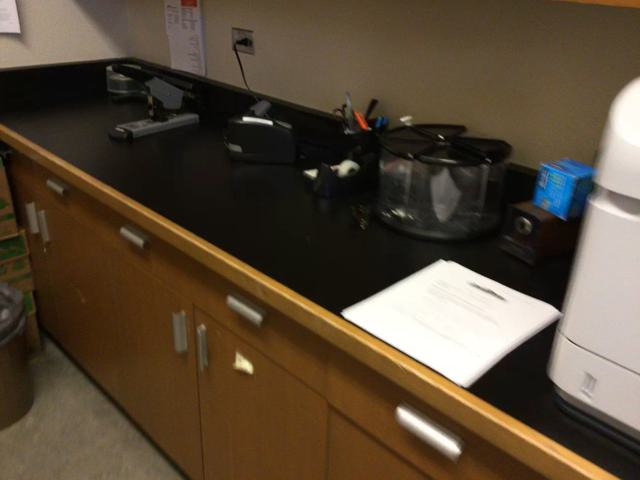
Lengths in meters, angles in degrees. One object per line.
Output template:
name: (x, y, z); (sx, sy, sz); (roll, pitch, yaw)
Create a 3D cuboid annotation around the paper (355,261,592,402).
paper: (0.240, 0.120, 0.890); (0.300, 0.020, 0.230); (-18, 32, -41)

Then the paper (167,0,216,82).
paper: (-0.450, -0.710, 2.010); (0.030, 0.280, 0.230); (-22, 34, -39)

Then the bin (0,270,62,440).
bin: (-1.060, 0.370, 1.800); (0.330, 0.390, 0.330); (-18, 32, -41)
